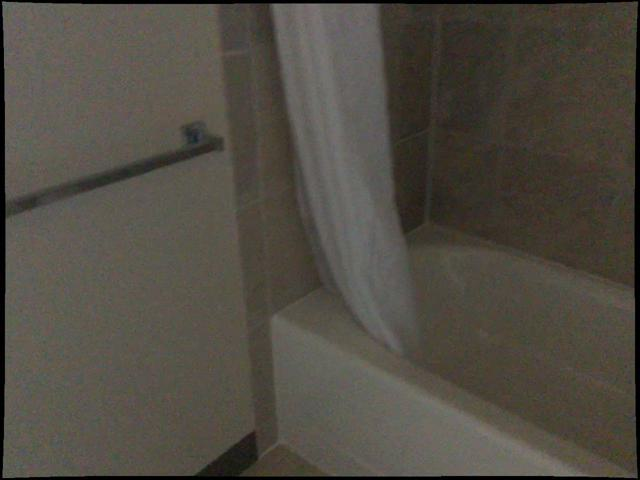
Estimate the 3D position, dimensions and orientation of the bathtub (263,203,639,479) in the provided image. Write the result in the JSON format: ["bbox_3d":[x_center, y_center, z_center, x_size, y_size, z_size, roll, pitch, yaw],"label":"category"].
[{"bbox_3d":[0.659,0.460,1.370,1.469,0.480,0.750,23,37,35],"label":"bathtub"}]
